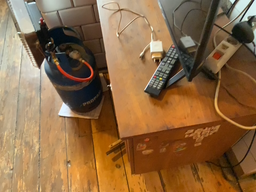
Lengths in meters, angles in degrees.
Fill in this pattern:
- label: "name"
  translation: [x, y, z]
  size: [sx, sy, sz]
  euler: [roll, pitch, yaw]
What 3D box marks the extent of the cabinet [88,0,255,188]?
- label: "cabinet"
  translation: [0.140, -0.080, 1.180]
  size: [0.520, 0.800, 0.880]
  euler: [-12, 58, -6]
